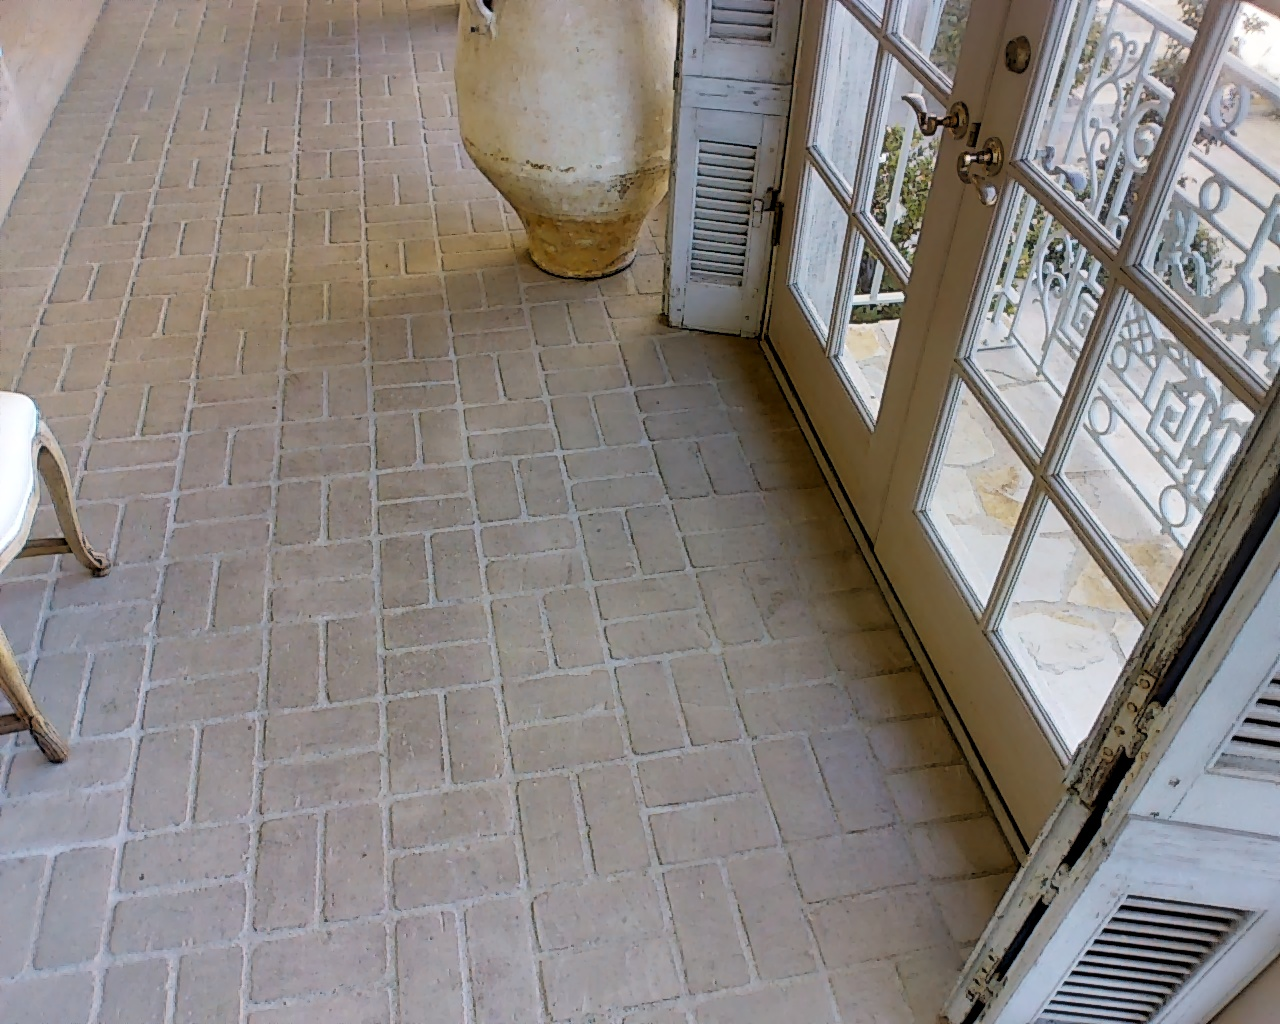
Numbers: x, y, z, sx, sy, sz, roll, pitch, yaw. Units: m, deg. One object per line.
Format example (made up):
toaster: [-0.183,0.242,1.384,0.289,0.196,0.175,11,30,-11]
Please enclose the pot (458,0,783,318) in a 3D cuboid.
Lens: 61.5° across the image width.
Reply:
pot: [-0.090,-1.260,2.790,0.740,1.300,0.650,-5,43,-8]
